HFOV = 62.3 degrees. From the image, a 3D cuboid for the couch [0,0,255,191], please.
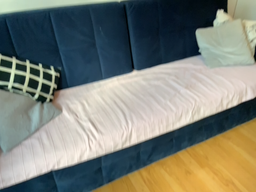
[{"bbox_3d":[0.080,-0.170,1.540,2.330,0.900,0.970,-17,38,-22],"label":"couch"}]
